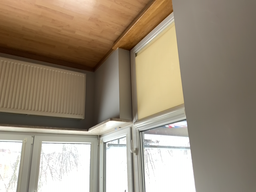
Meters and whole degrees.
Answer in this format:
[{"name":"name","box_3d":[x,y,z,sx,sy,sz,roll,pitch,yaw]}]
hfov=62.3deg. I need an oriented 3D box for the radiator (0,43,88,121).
[{"name":"radiator","box_3d":[-1.370,-0.190,2.280,1.880,0.710,0.250,10,158,-32]}]
